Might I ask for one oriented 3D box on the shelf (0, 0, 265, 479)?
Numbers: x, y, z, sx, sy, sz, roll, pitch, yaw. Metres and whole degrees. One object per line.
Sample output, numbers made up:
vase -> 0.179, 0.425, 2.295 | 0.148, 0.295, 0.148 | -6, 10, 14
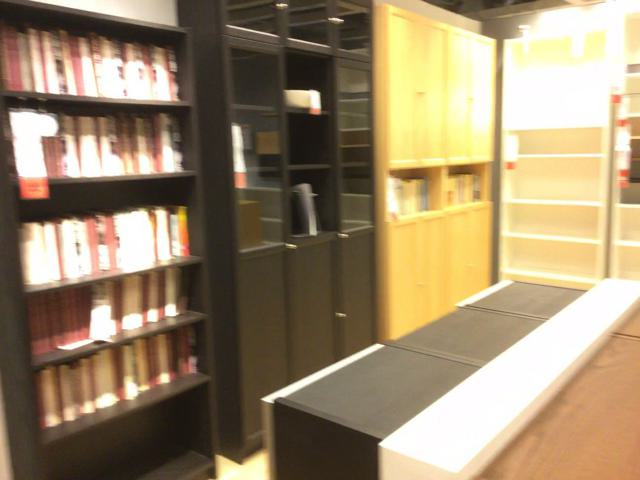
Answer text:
shelf -> -0.840, 0.140, 2.340 | 0.590, 1.990, 0.890 | 0, 8, 41
